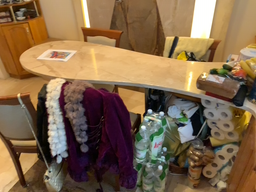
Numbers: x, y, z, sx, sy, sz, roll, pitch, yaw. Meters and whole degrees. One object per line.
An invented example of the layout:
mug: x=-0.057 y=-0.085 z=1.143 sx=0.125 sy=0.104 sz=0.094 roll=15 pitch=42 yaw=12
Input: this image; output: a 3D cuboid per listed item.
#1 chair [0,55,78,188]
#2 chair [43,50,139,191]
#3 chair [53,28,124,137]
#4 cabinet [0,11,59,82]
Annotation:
chair: x=-0.750 y=0.230 z=1.710 sx=0.410 sy=0.970 sz=0.520 roll=0 pitch=36 yaw=4
chair: x=-0.200 y=0.220 z=1.680 sx=0.410 sy=0.970 sz=0.520 roll=12 pitch=39 yaw=20
chair: x=-0.340 y=-0.130 z=2.200 sx=0.390 sy=0.950 sz=0.510 roll=12 pitch=39 yaw=19
cabinet: x=-1.560 y=-0.760 z=3.230 sx=0.560 sy=0.850 sz=0.550 roll=14 pitch=39 yaw=21
